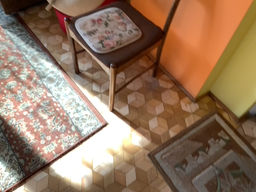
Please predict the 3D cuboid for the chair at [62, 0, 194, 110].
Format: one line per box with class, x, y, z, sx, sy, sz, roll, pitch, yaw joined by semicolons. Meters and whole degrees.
chair;-0.010;-0.410;1.260;0.560;0.830;0.410;-30;63;-21
